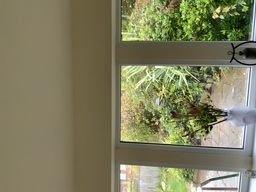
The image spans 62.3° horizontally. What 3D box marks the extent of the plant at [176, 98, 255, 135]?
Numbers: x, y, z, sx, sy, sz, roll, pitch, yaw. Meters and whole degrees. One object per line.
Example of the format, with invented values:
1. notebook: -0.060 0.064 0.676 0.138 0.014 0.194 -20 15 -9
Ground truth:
1. plant: 0.820 0.170 1.950 0.430 0.670 0.250 -28 -59 -84
